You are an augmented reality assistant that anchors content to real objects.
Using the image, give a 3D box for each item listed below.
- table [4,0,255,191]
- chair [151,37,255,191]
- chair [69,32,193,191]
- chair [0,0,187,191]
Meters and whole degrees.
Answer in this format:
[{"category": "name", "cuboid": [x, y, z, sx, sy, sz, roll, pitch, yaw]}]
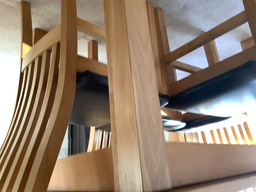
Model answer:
[{"category": "table", "cuboid": [0.170, 0.040, 1.110, 1.210, 0.770, 0.870, 11, 156, -40]}, {"category": "chair", "cuboid": [0.580, 0.260, 1.440, 0.460, 1.050, 0.570, -22, 156, 41]}, {"category": "chair", "cuboid": [-0.030, 0.260, 1.310, 0.460, 1.030, 0.560, 9, 157, -37]}, {"category": "chair", "cuboid": [-0.190, 0.080, 0.700, 0.460, 1.050, 0.570, -20, 157, 37]}]
